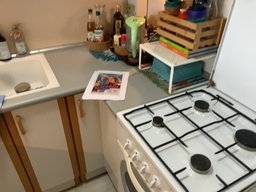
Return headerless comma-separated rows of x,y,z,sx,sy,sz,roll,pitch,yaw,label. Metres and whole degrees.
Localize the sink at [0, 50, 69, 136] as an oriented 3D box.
-0.640,-0.050,1.270,0.410,0.220,0.500,-17,37,-24,sink
